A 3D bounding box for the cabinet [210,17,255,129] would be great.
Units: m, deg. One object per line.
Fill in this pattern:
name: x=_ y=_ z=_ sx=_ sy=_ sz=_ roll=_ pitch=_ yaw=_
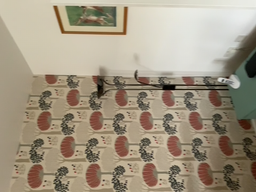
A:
cabinet: x=1.270 y=-0.260 z=1.780 sx=1.400 sy=0.470 sz=0.630 roll=98 pitch=172 yaw=-62
